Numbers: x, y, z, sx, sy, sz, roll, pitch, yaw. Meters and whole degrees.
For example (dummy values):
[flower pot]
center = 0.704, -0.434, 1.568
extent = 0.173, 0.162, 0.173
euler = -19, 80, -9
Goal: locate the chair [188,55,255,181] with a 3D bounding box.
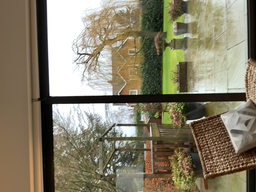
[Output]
[chair]
center = 0.930, 0.150, 1.610
extent = 0.630, 0.740, 0.710
euler = -85, -7, -55

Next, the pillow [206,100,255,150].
[pillow]
center = 0.900, 0.210, 1.710
extent = 0.440, 0.280, 0.110
euler = 50, 129, 39
